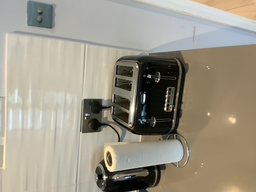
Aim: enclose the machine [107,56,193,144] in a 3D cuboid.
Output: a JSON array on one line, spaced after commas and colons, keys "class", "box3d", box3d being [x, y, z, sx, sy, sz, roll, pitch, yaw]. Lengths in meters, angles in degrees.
[{"class": "machine", "box3d": [0.070, 0.000, 0.820, 0.240, 0.200, 0.280, 22, 107, 61]}]
